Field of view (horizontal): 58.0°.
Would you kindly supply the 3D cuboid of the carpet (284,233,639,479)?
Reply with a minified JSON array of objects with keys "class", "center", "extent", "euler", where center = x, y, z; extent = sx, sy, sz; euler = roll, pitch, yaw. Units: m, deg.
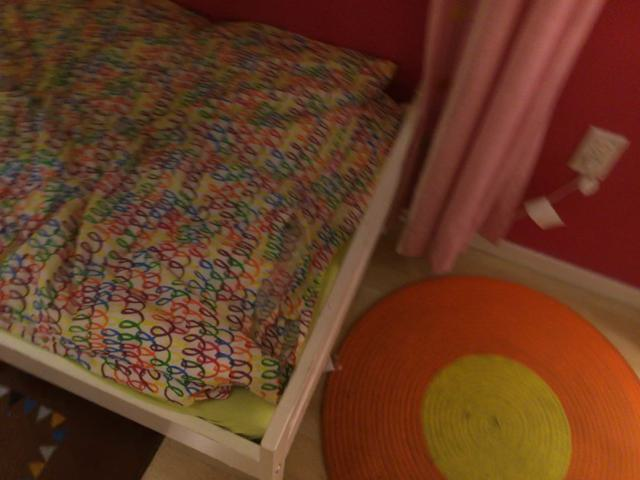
[{"class":"carpet","center":[0.370,0.380,1.220],"extent":[0.700,0.050,0.710],"euler":[21,55,11]}]
